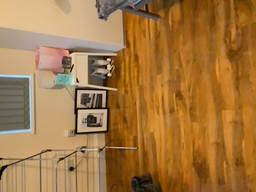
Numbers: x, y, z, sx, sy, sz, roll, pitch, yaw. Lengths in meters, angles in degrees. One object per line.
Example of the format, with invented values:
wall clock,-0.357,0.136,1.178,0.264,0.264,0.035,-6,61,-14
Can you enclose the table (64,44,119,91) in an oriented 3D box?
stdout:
table,-0.440,-0.310,2.580,0.400,0.530,0.480,-2,88,53

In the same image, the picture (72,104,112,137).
picture,-0.460,0.300,2.730,0.190,0.400,0.310,-5,99,54
